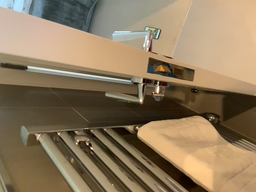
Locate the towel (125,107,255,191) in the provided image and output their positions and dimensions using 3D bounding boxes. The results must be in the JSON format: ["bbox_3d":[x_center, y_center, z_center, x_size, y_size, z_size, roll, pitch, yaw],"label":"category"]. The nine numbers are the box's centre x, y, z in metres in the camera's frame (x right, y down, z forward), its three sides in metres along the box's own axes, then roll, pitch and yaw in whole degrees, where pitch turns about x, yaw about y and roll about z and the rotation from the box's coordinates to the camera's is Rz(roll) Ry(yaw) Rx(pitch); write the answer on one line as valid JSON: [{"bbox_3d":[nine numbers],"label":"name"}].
[{"bbox_3d":[0.310,0.160,0.620,0.420,0.480,0.090,30,108,41],"label":"towel"}]
